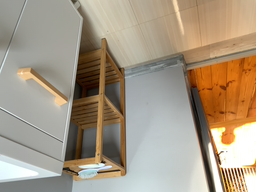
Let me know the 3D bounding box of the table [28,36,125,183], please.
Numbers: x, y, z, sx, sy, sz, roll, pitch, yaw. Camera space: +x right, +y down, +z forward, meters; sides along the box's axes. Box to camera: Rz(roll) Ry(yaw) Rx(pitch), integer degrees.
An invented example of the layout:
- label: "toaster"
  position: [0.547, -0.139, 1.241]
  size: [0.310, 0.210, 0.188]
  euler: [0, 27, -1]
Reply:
- label: "table"
  position: [-0.250, 0.080, 1.280]
  size: [0.350, 0.760, 0.360]
  euler: [-11, 147, 15]
